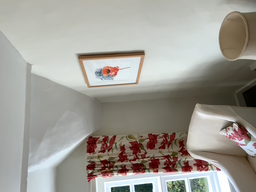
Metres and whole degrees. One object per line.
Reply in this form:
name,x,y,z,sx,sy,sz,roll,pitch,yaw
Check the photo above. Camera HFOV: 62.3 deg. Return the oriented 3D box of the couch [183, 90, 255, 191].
couch,1.030,0.450,1.710,0.840,0.830,0.650,-103,11,-59
